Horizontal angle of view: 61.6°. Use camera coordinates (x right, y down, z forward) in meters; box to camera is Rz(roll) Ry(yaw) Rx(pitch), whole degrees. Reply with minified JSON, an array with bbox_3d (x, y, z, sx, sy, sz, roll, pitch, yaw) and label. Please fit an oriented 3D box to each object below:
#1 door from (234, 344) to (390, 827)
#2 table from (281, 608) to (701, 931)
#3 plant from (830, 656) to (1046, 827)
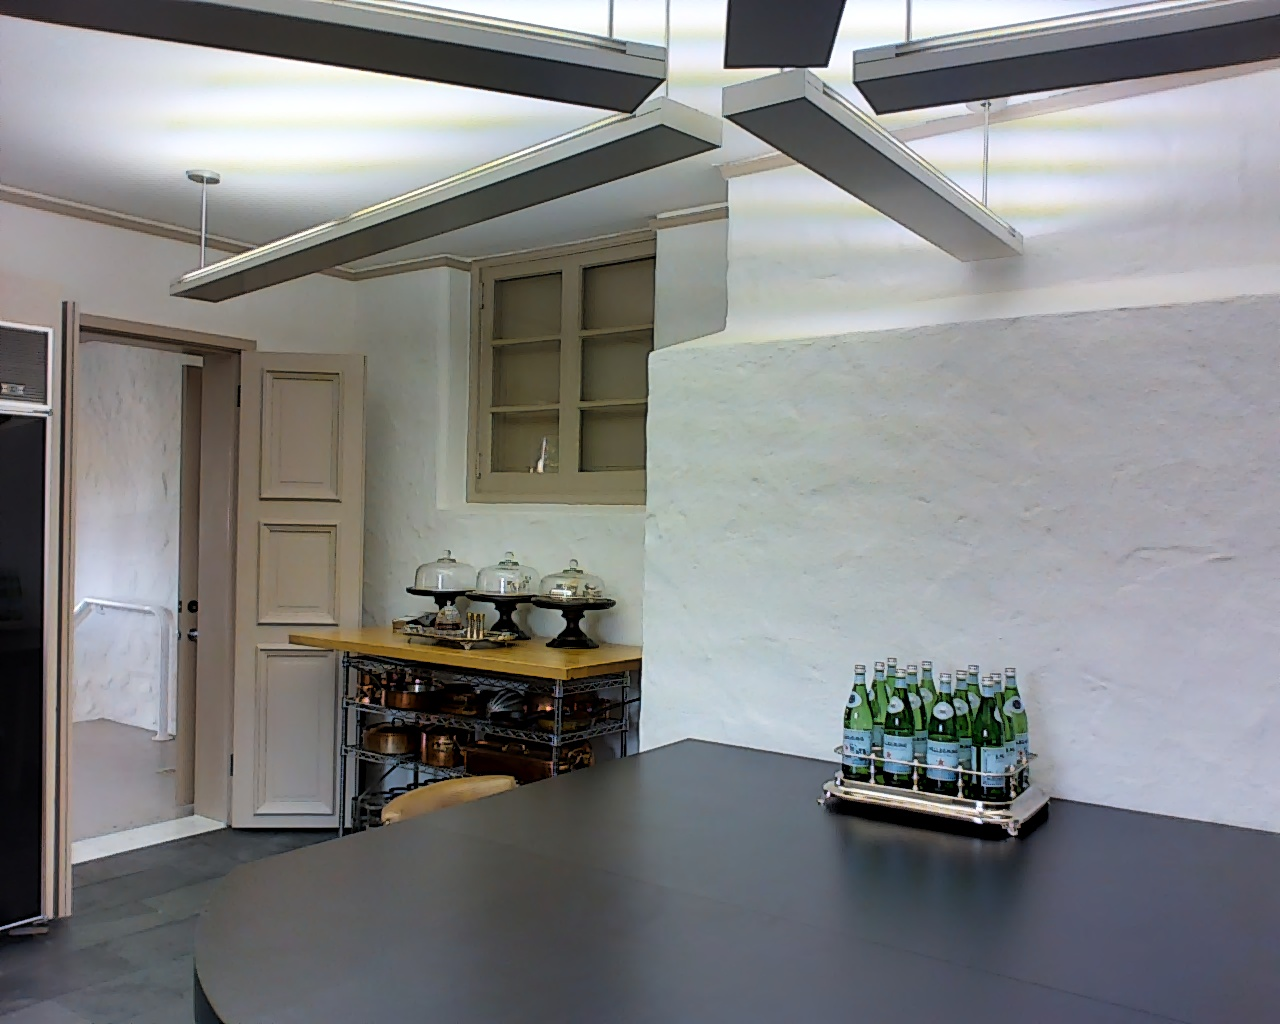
[{"bbox_3d":[-1.550,0.350,5.090,0.660,2.260,0.100,1,0,-4],"label":"door"},{"bbox_3d":[-0.650,0.960,4.500,1.600,0.950,0.820,1,0,35],"label":"table"},{"bbox_3d":[0.780,0.580,2.810,0.450,0.330,0.330,1,0,37],"label":"plant"}]
